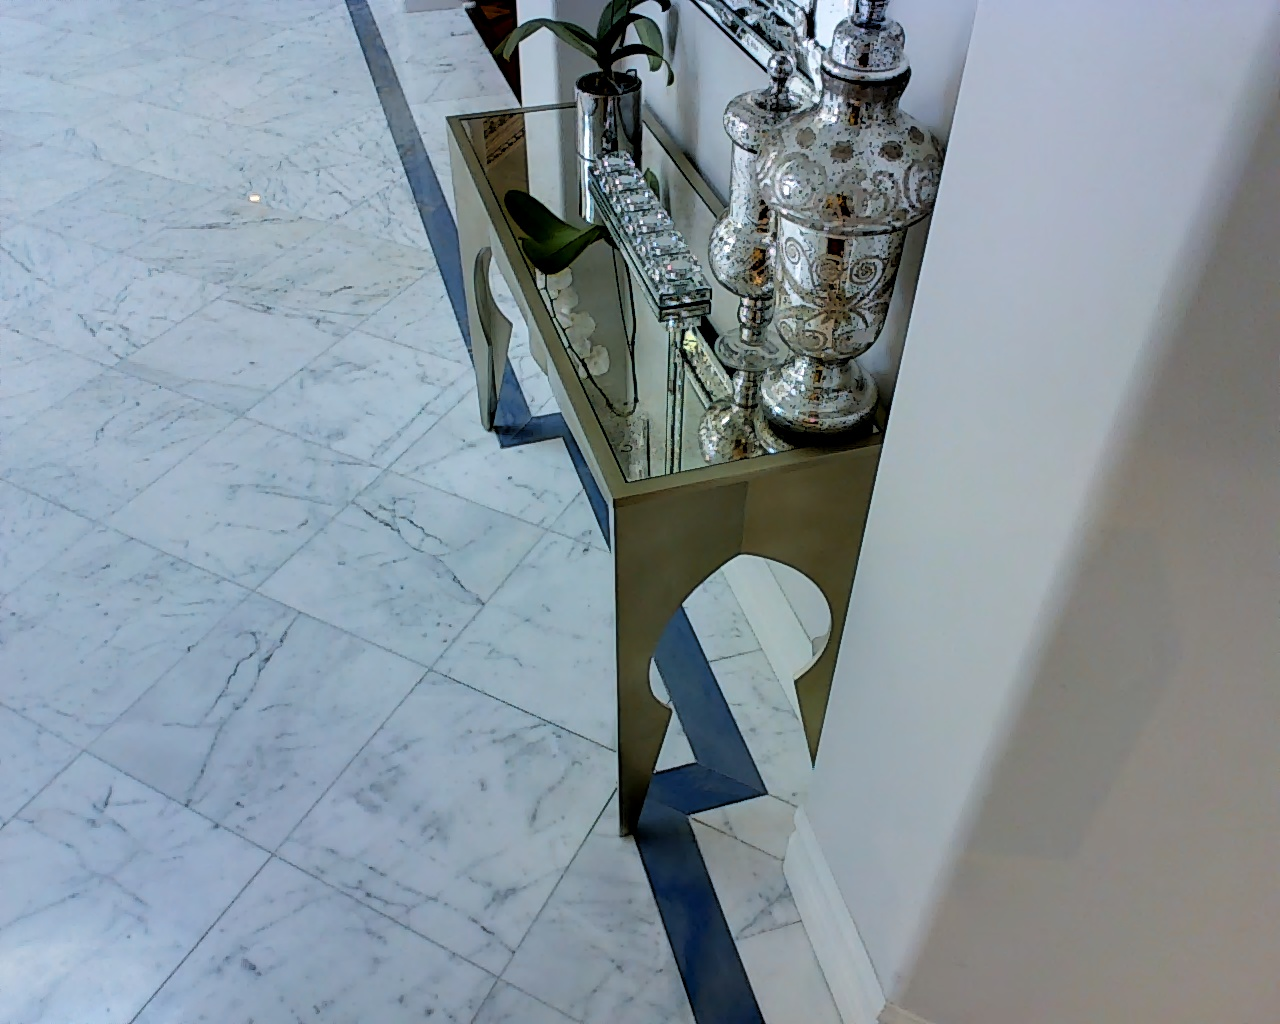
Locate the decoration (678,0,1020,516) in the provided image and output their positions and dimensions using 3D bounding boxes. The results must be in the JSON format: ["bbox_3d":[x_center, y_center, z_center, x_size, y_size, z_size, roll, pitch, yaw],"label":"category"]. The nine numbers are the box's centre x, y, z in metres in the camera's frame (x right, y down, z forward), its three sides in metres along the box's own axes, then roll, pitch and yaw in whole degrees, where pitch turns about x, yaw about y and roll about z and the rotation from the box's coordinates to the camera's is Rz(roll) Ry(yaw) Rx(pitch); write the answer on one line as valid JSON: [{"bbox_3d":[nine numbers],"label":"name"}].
[{"bbox_3d":[0.220,-0.330,1.360,0.230,0.550,0.340,-11,44,-13],"label":"decoration"}]
